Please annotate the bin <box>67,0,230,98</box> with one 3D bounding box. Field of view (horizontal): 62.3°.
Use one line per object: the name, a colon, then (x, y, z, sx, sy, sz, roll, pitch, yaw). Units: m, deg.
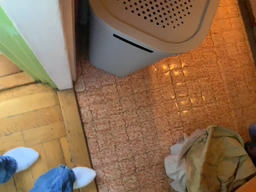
bin: (0.030, -0.300, 0.860, 0.350, 0.690, 0.470, 25, 80, -11)
